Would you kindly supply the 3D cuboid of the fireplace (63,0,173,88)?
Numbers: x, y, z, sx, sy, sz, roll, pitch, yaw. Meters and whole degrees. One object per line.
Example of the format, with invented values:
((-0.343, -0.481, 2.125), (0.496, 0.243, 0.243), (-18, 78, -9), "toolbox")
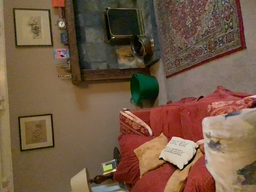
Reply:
((-0.230, -1.100, 3.090), (0.770, 1.280, 1.760), (154, 110, -71), "fireplace")

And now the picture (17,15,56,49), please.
((-1.320, -0.930, 3.070), (0.040, 0.470, 0.480), (156, 108, -71), "picture")
